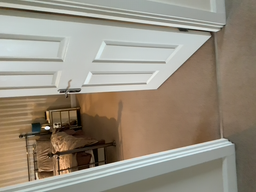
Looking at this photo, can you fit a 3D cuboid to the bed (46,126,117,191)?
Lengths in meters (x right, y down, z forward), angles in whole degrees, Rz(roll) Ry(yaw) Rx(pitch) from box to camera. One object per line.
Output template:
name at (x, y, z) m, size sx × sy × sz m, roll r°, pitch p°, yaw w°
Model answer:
bed at (-0.970, 1.470, 3.920) m, size 2.140 × 0.670 × 1.550 m, roll -5°, pitch 89°, yaw 61°

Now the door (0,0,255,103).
door at (-0.100, -0.270, 1.320) m, size 1.050 × 1.660 × 0.110 m, roll -47°, pitch 53°, yaw 53°
